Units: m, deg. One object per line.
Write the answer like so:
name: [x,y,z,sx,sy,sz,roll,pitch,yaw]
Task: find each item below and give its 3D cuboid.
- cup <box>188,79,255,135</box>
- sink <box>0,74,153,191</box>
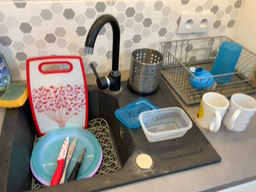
cup: [0.340,0.030,0.730,0.190,0.090,0.160,-6,40,-13]
sink: [-0.200,0.170,0.720,0.390,0.240,0.460,-8,41,-16]
